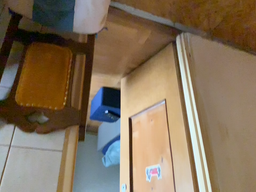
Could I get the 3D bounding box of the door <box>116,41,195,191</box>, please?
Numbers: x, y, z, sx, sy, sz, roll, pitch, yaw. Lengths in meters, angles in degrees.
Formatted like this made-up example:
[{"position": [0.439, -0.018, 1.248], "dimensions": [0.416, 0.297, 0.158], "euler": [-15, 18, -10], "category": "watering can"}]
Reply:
[{"position": [0.140, 0.620, 1.470], "dimensions": [0.070, 2.040, 0.740], "euler": [18, 146, -30], "category": "door"}]
